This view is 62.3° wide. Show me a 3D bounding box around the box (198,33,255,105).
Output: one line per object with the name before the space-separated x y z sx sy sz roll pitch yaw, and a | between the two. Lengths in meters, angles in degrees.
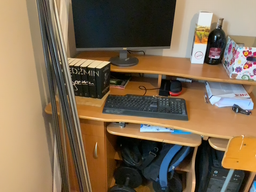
box | 0.640 -0.190 1.340 0.300 0.300 0.380 8 30 10

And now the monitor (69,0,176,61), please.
monitor | -0.030 -0.440 1.310 0.620 0.430 0.050 -3 30 -10
